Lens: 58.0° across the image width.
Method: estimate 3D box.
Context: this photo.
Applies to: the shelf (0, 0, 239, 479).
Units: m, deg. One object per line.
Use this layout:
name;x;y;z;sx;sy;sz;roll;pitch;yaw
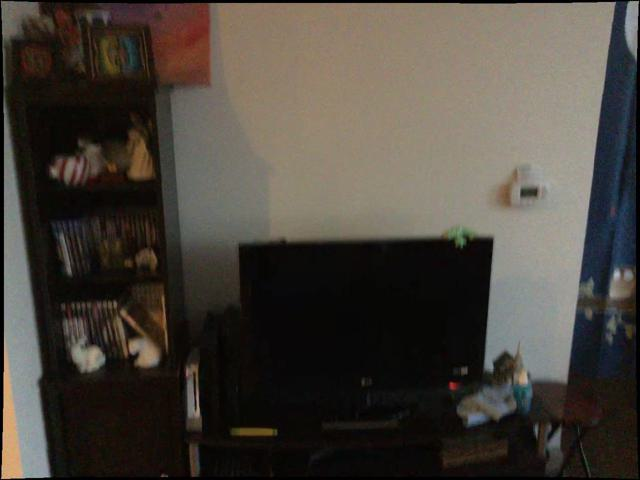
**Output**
shelf;-0.609;0.211;1.770;0.529;1.694;0.390;-7;13;-8
